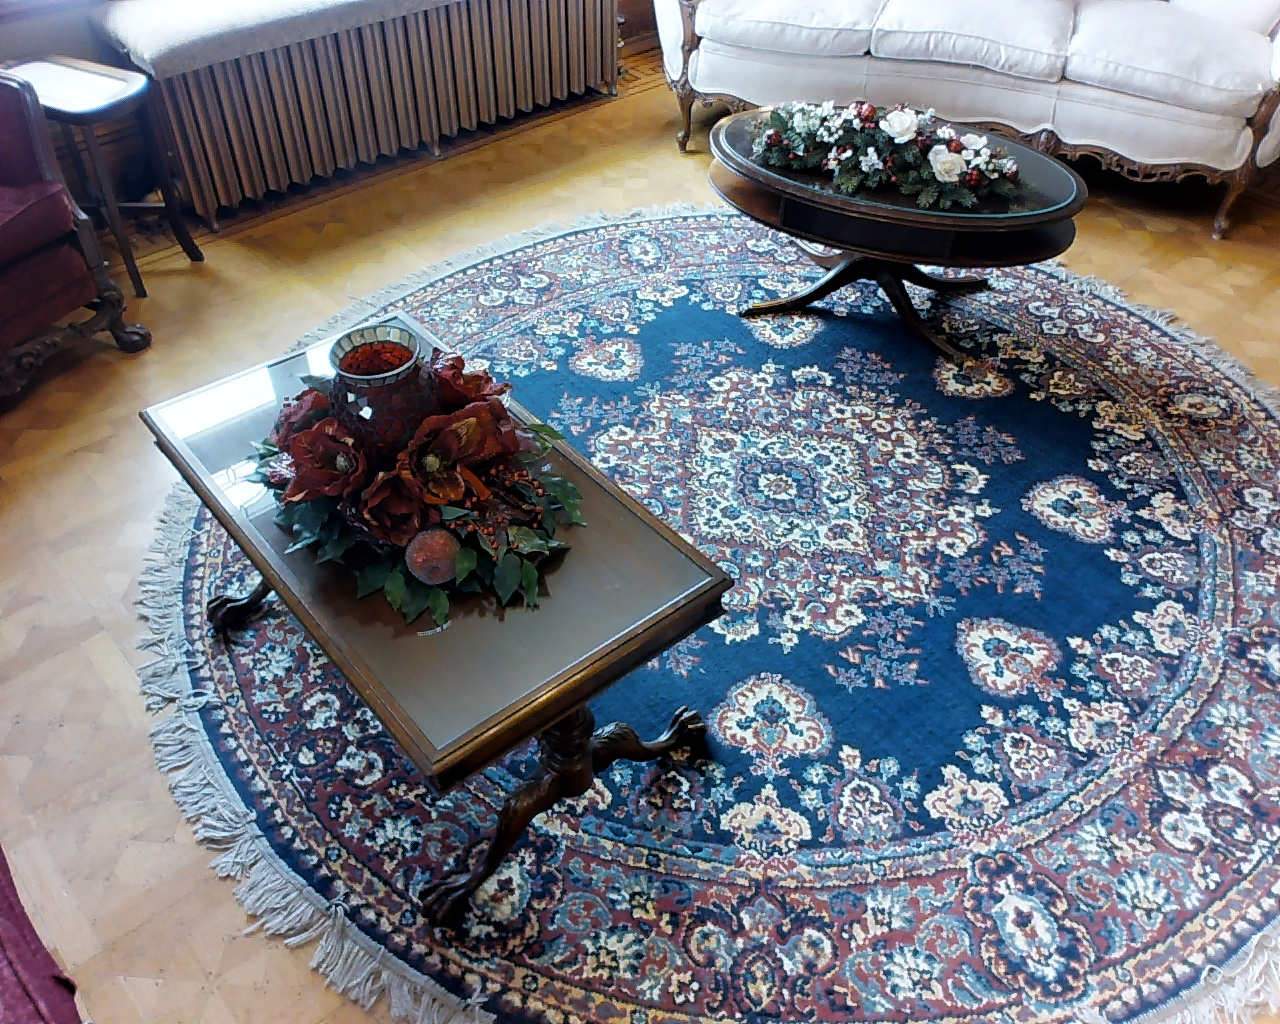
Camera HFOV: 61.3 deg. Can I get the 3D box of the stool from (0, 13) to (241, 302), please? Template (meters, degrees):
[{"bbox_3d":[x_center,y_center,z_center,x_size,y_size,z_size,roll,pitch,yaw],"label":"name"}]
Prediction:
[{"bbox_3d":[-1.500,-0.960,2.900,0.620,0.510,0.380,23,48,22],"label":"stool"}]

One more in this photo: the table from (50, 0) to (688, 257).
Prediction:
[{"bbox_3d":[-0.700,-1.480,3.410,1.940,0.600,0.430,-31,52,-29],"label":"table"}]

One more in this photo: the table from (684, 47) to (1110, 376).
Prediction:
[{"bbox_3d":[0.620,-0.770,2.710,0.900,0.500,0.540,11,44,11],"label":"table"}]
